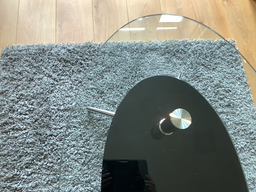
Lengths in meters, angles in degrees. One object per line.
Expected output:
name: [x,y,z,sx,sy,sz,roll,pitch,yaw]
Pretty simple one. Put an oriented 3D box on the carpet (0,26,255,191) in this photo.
carpet: [0.050,0.500,0.840,1.230,0.070,1.760,-2,73,-8]
